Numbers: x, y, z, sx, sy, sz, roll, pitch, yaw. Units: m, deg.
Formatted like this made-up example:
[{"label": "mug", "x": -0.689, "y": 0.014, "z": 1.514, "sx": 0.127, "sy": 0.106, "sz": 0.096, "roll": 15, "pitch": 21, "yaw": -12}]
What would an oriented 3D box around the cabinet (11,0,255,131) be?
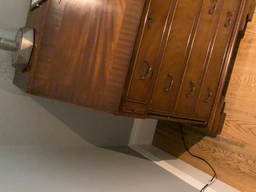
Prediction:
[{"label": "cabinet", "x": 0.110, "y": -0.300, "z": 1.070, "sx": 0.510, "sy": 1.020, "sz": 0.770, "roll": 17, "pitch": 94, "yaw": 49}]
